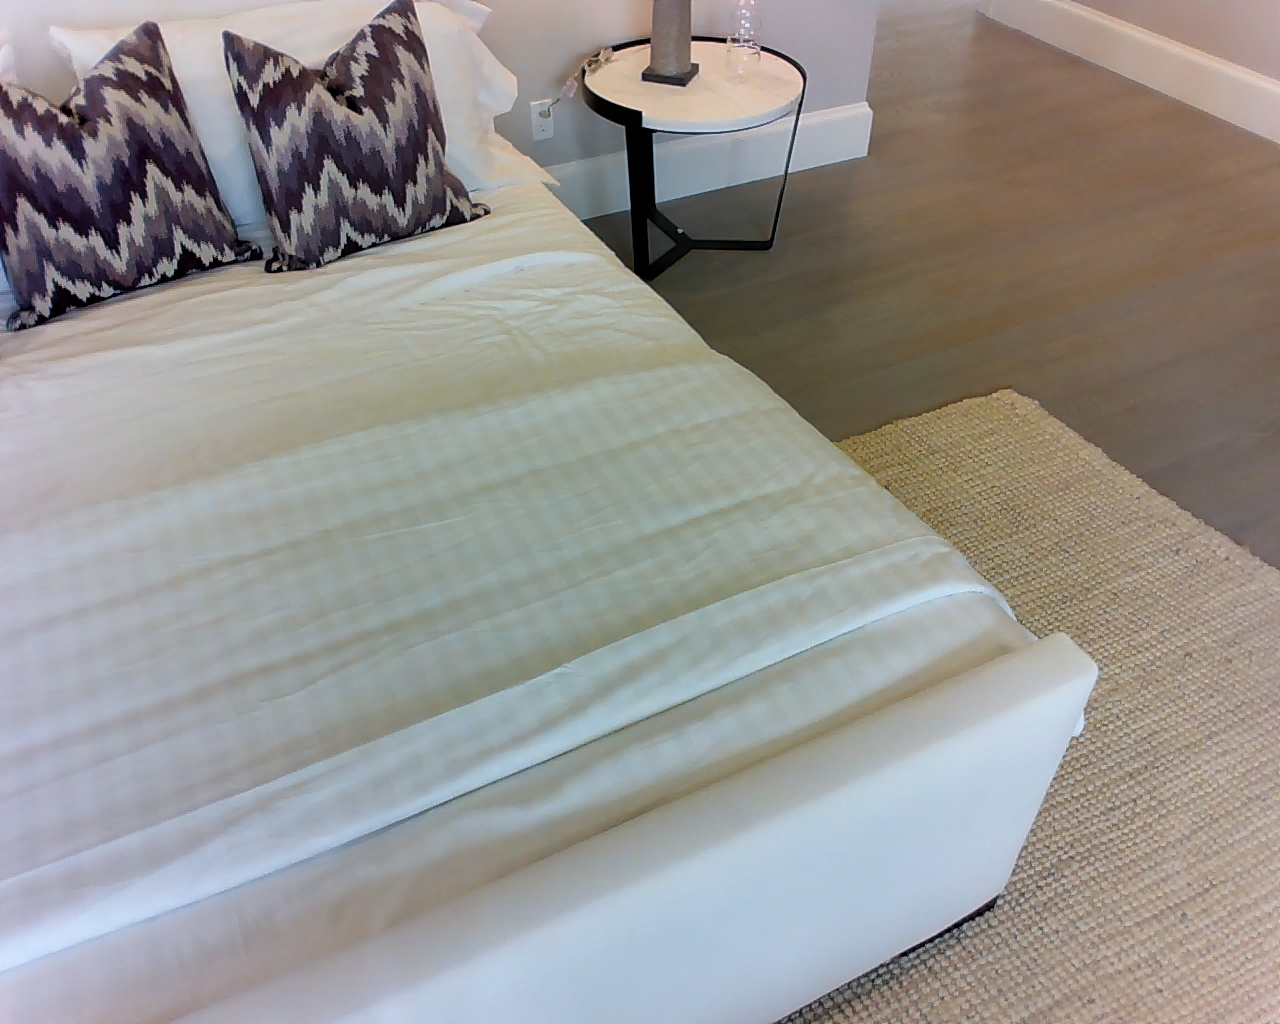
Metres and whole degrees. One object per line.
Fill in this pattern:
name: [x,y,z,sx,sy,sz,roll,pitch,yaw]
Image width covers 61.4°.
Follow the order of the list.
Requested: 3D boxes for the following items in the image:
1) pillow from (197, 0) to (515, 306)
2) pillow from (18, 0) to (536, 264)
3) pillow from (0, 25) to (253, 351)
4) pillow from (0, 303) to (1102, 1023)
pillow: [-0.550,-0.750,2.160,0.470,0.470,0.320,-20,45,-21]
pillow: [-0.770,-0.950,2.410,0.960,0.420,0.420,-21,45,-22]
pillow: [-1.030,-0.610,2.010,0.430,0.420,0.300,-22,46,-24]
pillow: [-0.560,0.200,1.300,2.280,0.060,0.700,-19,45,-20]
